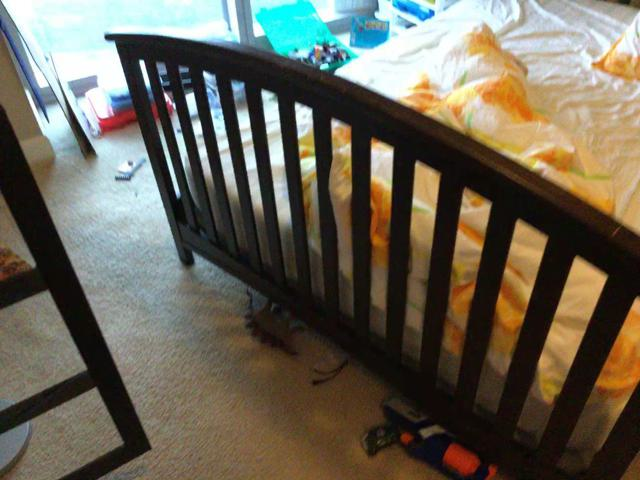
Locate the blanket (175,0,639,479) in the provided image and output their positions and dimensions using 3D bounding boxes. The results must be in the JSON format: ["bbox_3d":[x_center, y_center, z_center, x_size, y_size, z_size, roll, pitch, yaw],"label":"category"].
[{"bbox_3d":[0.480,-0.270,1.450,1.090,0.400,1.170,30,53,33],"label":"blanket"}]
